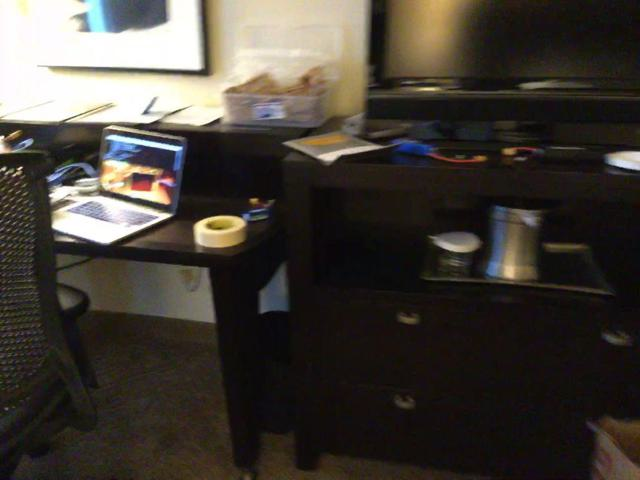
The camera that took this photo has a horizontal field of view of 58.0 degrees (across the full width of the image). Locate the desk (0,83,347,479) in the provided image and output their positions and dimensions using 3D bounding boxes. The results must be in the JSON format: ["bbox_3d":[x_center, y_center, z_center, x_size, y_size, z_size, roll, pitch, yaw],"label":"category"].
[{"bbox_3d":[-0.750,0.100,1.900,1.510,1.050,0.670,2,23,16],"label":"desk"}]

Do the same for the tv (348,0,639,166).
[{"bbox_3d":[0.470,-0.520,1.340,0.780,0.600,0.170,-4,21,12],"label":"tv"}]

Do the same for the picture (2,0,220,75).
[{"bbox_3d":[-0.730,-1.000,1.760,0.710,0.880,0.070,-2,22,18],"label":"picture"}]

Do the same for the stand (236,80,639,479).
[{"bbox_3d":[0.510,0.160,1.600,1.200,1.040,0.520,-1,22,17],"label":"stand"}]
